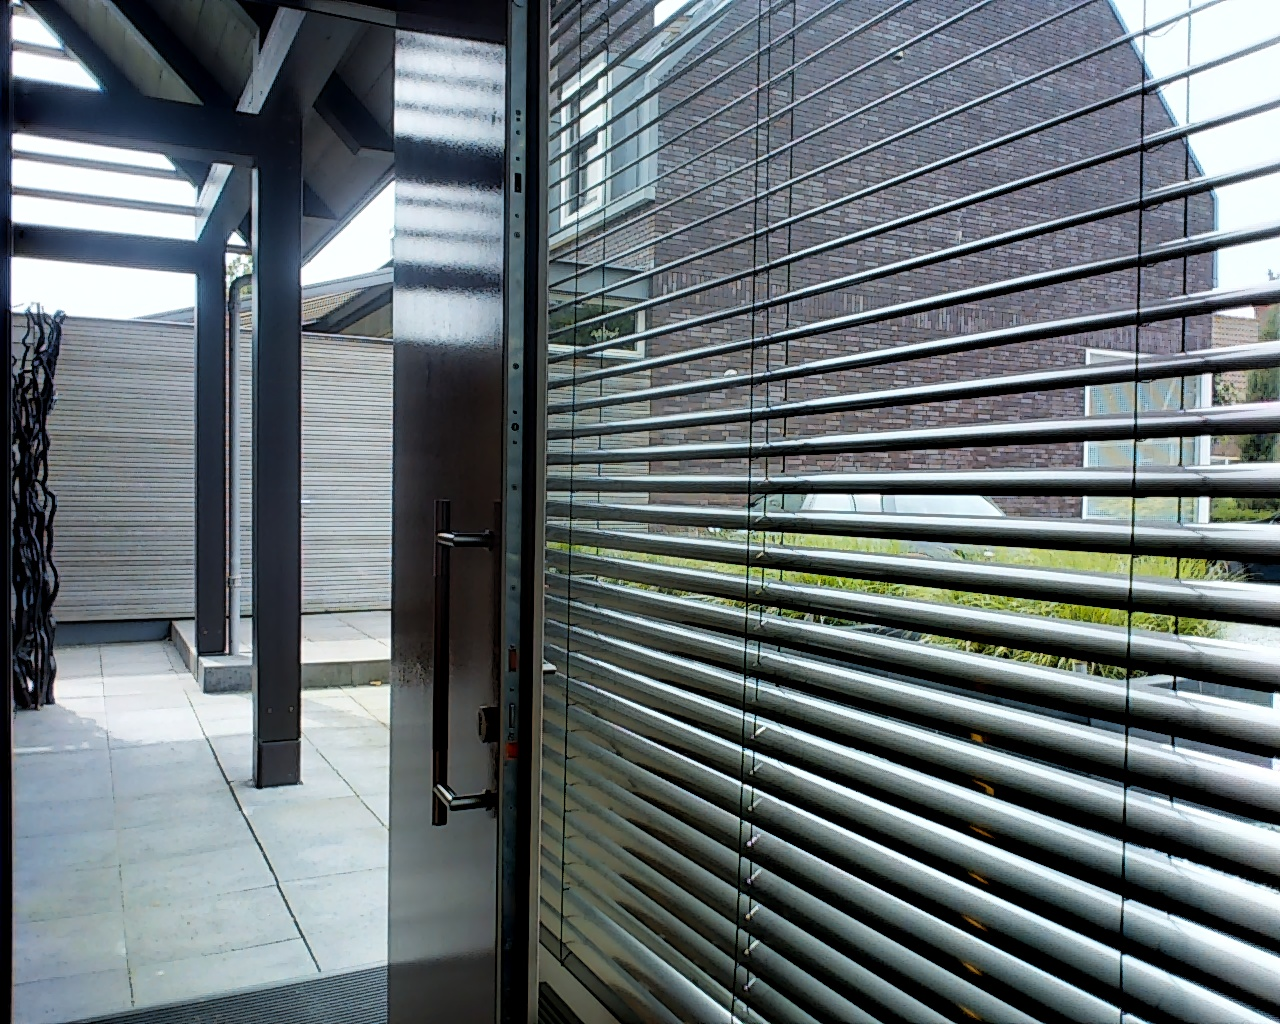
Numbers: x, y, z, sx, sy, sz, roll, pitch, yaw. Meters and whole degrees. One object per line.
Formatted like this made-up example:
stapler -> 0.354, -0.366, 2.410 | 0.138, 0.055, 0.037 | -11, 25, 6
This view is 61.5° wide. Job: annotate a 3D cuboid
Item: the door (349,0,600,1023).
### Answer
door -> -0.340, 0.030, 1.960 | 0.190, 2.520, 0.830 | 0, 1, -26
